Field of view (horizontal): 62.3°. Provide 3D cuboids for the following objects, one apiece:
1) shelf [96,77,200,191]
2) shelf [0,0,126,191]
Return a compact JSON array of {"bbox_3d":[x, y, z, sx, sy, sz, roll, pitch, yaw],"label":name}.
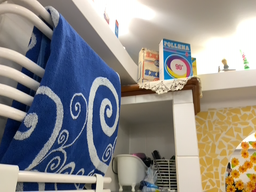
[{"bbox_3d":[0.110,0.530,0.860,0.370,1.130,0.370,-5,-23,16],"label":"shelf"},{"bbox_3d":[-0.160,0.060,0.590,0.160,0.410,0.400,-8,-23,21],"label":"shelf"}]
